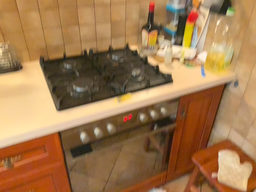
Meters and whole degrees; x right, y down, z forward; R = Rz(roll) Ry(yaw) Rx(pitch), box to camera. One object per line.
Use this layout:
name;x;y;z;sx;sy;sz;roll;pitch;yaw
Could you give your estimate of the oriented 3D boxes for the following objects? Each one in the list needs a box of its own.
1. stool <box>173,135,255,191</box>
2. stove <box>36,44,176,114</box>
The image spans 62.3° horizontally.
stool;0.520;0.550;1.290;0.290;0.450;0.330;-14;37;-22
stove;-0.140;-0.140;1.140;0.590;0.030;0.520;-15;37;-24
